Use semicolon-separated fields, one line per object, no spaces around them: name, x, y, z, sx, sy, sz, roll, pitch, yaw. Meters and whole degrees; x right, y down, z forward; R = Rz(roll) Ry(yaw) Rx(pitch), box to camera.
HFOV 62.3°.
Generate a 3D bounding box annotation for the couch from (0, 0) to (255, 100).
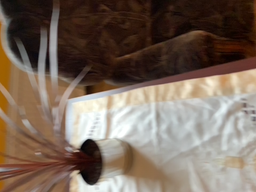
couch;0.020;-0.460;0.990;0.870;1.020;0.810;-11;79;41
